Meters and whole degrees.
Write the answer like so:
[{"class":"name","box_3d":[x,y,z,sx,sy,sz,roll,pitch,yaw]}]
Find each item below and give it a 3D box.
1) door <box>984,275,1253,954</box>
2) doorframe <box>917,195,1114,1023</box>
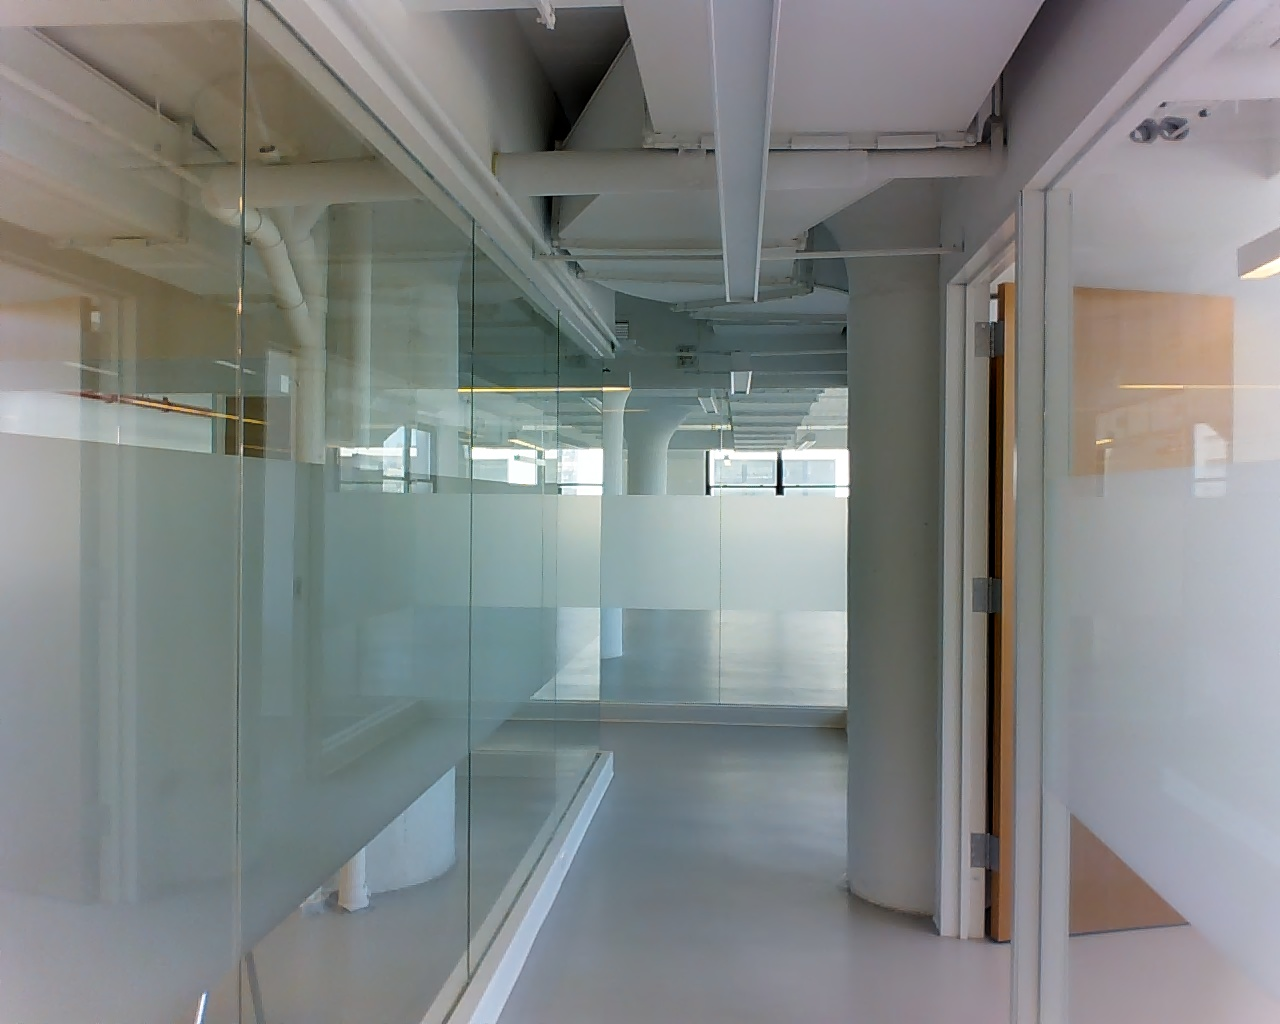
[{"class":"door","box_3d":[1.650,0.340,3.670,0.990,2.230,0.070,1,0,-14]},{"class":"doorframe","box_3d":[1.060,0.340,3.160,0.290,2.240,1.020,1,0,5]}]
